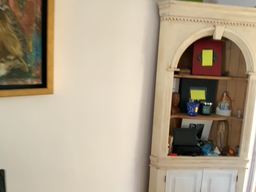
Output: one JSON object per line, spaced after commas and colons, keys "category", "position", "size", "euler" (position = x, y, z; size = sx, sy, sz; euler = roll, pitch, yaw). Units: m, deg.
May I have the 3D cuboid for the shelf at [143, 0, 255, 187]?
{"category": "shelf", "position": [0.660, -0.090, 1.720], "size": [0.850, 1.190, 0.560], "euler": [-5, 12, -42]}
